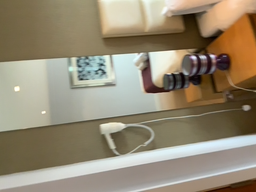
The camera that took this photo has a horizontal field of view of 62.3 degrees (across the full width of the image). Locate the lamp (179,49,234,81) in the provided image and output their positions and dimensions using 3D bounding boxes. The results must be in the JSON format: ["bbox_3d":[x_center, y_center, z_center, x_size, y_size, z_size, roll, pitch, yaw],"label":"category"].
[{"bbox_3d":[0.580,-0.230,1.600,0.210,0.300,0.160,131,132,-74],"label":"lamp"}]
